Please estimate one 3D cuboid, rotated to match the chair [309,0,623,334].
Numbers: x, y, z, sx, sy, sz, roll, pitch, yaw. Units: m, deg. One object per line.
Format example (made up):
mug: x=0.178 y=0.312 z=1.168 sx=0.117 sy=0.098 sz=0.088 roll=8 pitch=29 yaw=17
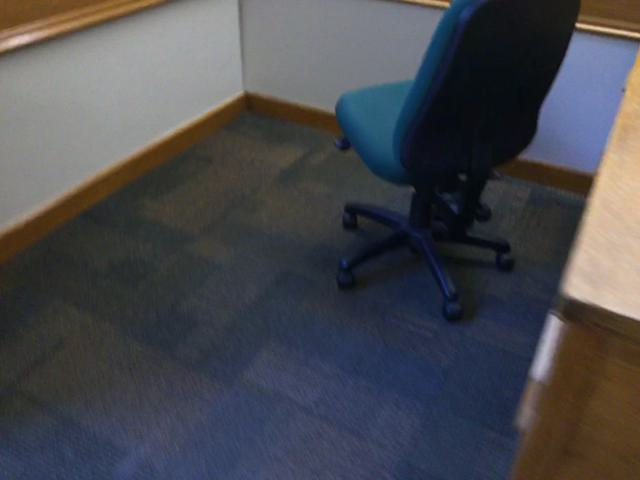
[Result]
chair: x=0.340 y=-0.330 z=1.770 sx=0.570 sy=0.960 sz=0.610 roll=-12 pitch=38 yaw=-17
